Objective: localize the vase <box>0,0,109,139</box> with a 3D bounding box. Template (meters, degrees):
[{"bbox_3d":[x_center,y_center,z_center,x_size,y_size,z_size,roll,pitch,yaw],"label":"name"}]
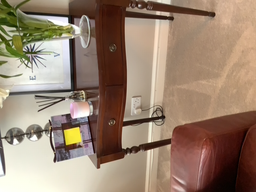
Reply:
[{"bbox_3d":[-0.470,-0.230,0.920,0.610,0.570,0.600,25,117,57],"label":"vase"}]
